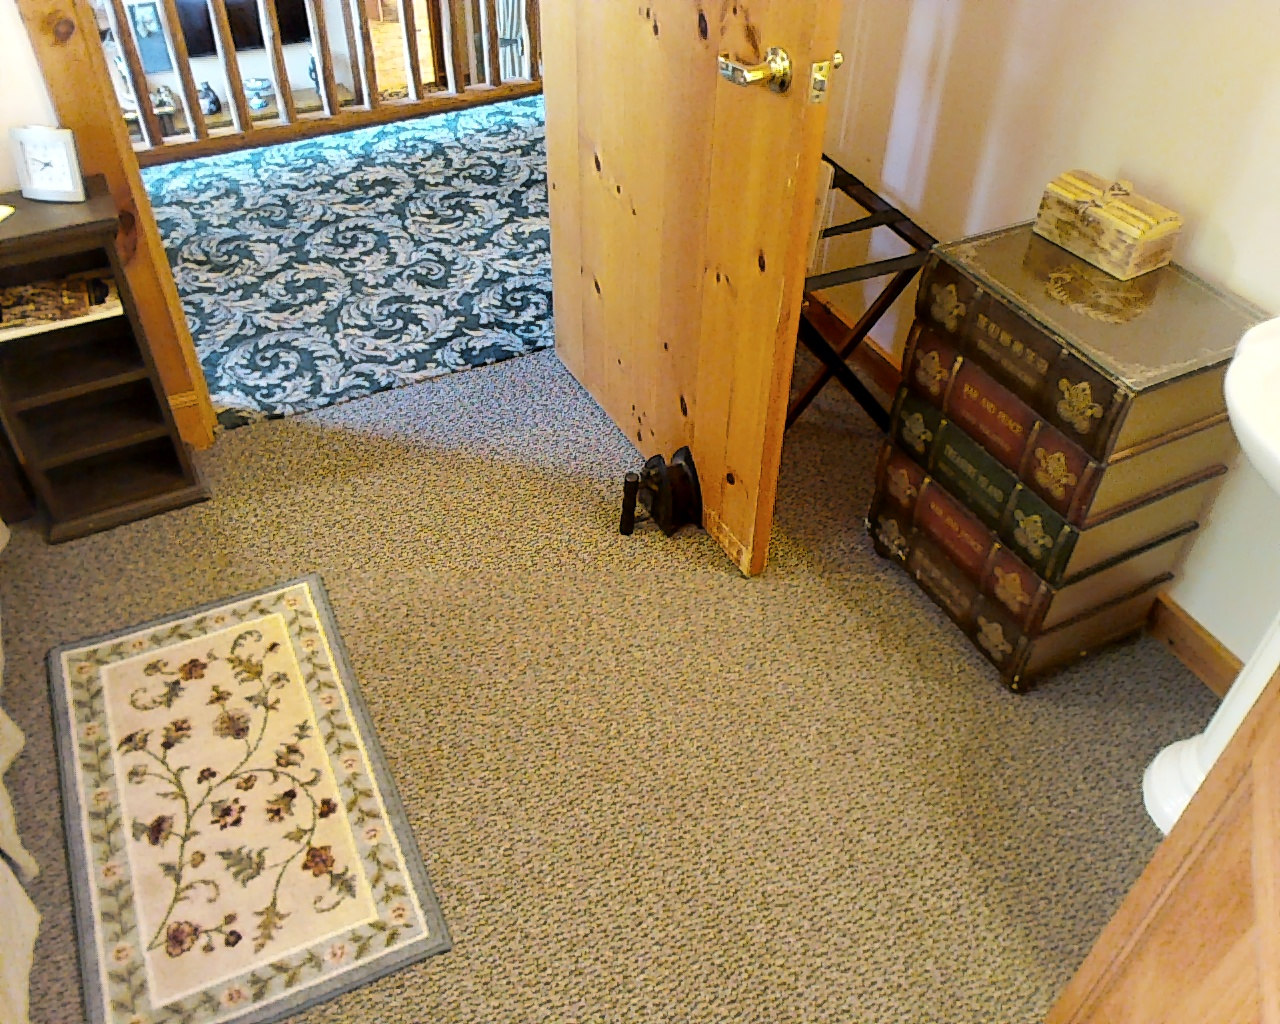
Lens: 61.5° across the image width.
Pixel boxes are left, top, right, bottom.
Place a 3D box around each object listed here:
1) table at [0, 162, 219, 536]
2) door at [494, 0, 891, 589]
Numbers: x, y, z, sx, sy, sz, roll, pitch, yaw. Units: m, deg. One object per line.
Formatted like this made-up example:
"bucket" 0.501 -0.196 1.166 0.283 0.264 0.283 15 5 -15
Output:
"table" -1.130 -0.310 2.140 0.370 0.640 0.240 -17 47 -18
"door" 0.020 -0.920 1.830 0.150 2.050 1.030 -21 48 -22
